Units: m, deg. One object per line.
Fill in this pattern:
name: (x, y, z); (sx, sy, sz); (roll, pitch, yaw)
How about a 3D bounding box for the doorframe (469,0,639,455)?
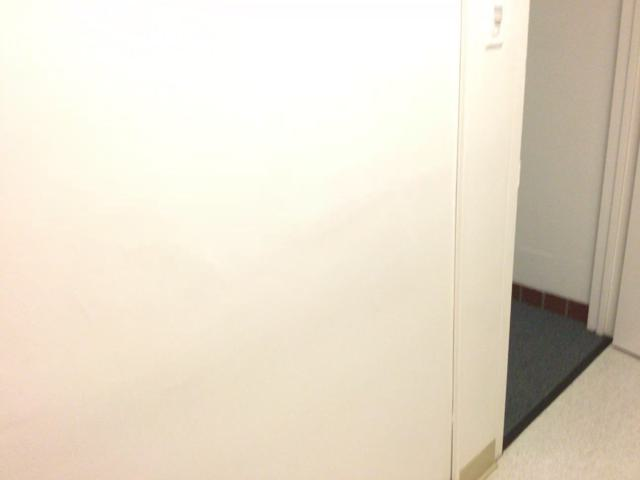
doorframe: (0.850, -0.180, 1.900); (1.040, 1.470, 0.110); (-25, 28, -36)
